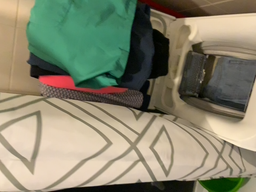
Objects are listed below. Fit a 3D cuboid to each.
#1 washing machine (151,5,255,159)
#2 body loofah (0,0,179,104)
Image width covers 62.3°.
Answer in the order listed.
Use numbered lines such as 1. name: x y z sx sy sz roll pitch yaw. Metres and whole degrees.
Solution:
1. washing machine: 0.610 -0.050 0.970 0.460 0.830 0.420 25 106 54
2. body loofah: -0.230 -0.300 0.680 0.290 0.450 0.600 -61 40 30
